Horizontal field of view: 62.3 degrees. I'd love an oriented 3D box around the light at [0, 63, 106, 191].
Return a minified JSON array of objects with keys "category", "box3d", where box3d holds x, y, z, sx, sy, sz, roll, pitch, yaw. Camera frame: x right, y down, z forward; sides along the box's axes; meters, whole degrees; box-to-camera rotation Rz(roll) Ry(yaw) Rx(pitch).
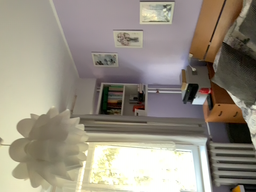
[{"category":"light","box3d":[-0.540,0.290,1.440,0.430,0.710,0.610,-14,-40,23]}]
